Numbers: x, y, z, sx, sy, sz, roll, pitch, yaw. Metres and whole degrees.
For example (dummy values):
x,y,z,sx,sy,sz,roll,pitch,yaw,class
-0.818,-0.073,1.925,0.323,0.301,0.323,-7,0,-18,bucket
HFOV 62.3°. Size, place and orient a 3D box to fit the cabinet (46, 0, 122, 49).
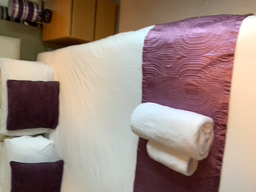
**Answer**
x,y,z,sx,sy,sz,roll,pitch,yaw,class
-0.420,-0.720,2.020,0.440,0.530,0.430,10,97,45,cabinet
